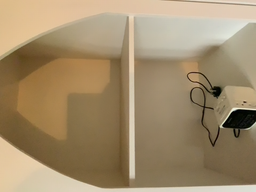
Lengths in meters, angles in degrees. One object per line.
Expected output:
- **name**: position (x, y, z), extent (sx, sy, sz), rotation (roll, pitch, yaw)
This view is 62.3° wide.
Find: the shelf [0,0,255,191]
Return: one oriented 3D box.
- **shelf**: position (0.120, 0.050, 0.880), extent (0.650, 1.460, 0.620), rotation (120, 150, -79)
